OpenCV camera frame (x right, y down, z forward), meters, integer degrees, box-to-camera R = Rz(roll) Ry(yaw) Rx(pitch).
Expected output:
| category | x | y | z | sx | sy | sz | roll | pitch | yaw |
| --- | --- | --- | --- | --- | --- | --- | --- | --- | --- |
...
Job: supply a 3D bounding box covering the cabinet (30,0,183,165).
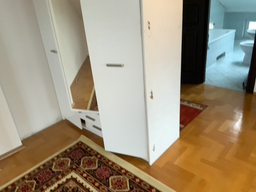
| category | x | y | z | sx | sy | sz | roll | pitch | yaw |
| --- | --- | --- | --- | --- | --- | --- | --- | --- | --- |
| cabinet | -0.270 | -0.520 | 2.320 | 1.550 | 2.020 | 0.610 | 17 | 33 | 37 |
